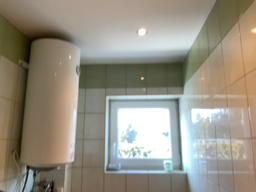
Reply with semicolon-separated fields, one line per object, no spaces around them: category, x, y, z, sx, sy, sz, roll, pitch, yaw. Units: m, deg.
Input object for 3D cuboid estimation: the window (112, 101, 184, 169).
window;0.200;0.400;2.230;0.710;0.690;0.080;-1;-11;4
